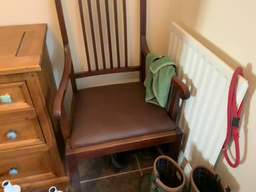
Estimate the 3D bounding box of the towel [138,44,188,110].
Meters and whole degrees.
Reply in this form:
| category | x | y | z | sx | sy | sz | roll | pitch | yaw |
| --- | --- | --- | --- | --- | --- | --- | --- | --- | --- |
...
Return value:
| category | x | y | z | sx | sy | sz | roll | pitch | yaw |
| --- | --- | --- | --- | --- | --- | --- | --- | --- | --- |
| towel | 0.170 | -0.110 | 1.140 | 0.150 | 0.230 | 0.270 | -7 | 39 | -12 |
